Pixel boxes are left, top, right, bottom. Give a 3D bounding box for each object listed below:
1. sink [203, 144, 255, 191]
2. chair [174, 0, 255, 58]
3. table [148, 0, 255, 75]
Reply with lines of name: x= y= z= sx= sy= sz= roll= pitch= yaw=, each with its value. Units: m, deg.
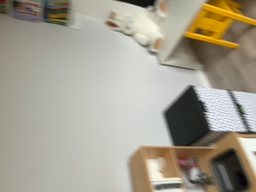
sink: x=0.610 y=0.450 z=1.270 sx=0.220 sy=0.130 sz=0.250 roll=123 pitch=144 yaw=-48
chair: x=0.720 y=-0.590 z=1.780 sx=0.350 sy=0.470 sz=0.320 roll=120 pitch=146 yaw=-46
table: x=0.650 y=-0.730 z=1.930 sx=0.930 sy=0.490 sz=0.530 roll=121 pitch=146 yaw=-47
